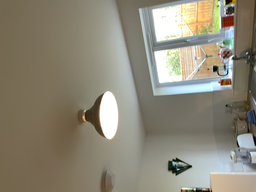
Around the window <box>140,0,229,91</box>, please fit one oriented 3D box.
[{"bbox_3d":[0.770,-0.680,2.790,0.130,0.980,1.290,-73,-26,-53],"label":"window"}]
